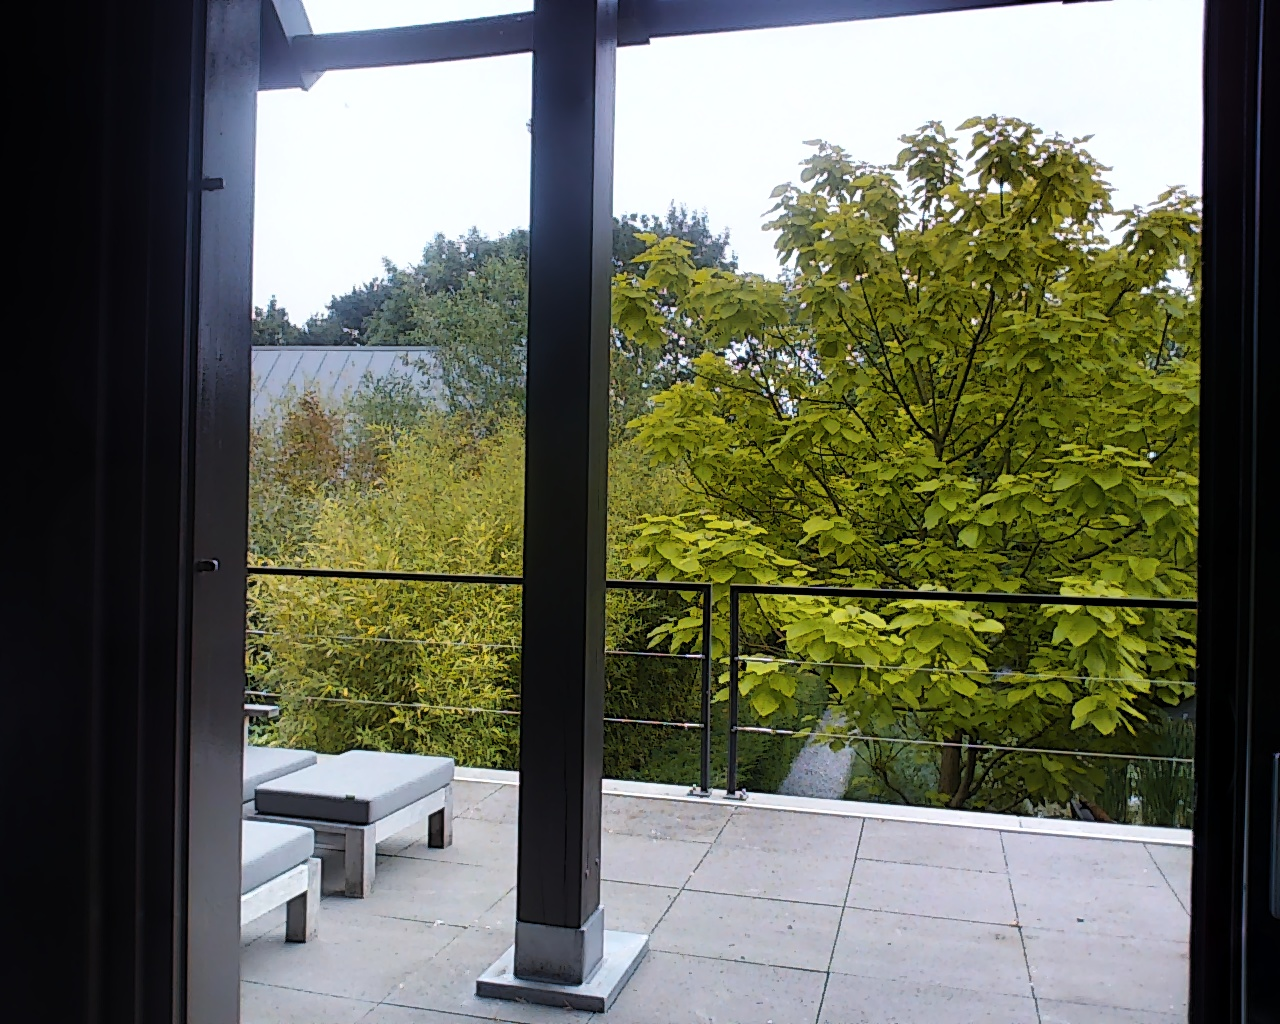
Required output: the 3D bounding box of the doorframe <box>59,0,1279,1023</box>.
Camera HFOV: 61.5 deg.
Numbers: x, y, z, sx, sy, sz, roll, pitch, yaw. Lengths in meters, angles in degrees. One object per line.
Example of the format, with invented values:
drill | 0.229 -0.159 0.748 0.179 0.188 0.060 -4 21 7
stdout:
doorframe | 0.030 0.110 1.180 1.360 2.470 0.260 1 0 16
